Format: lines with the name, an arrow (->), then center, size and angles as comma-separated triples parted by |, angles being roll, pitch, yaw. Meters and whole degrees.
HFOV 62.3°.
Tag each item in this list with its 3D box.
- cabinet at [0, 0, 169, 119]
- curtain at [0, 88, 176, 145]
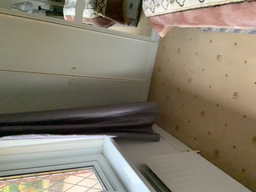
cabinet -> -0.670, -0.970, 2.070 | 0.600, 2.160, 2.300 | 34, 118, 56
curtain -> -0.520, 0.150, 1.820 | 0.410, 2.020, 0.280 | 36, 119, 55
